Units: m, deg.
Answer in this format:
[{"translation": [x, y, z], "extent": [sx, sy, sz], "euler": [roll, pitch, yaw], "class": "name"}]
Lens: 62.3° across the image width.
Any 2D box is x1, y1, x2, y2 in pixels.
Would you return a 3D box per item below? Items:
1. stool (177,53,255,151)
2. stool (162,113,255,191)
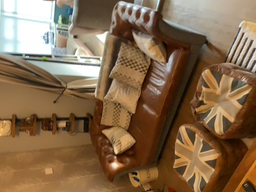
[{"translation": [0.770, 0.020, 1.620], "extent": [0.510, 0.410, 0.530], "euler": [46, 128, 52], "class": "stool"}, {"translation": [0.660, 0.510, 1.830], "extent": [0.480, 0.390, 0.540], "euler": [46, 128, 52], "class": "stool"}]
